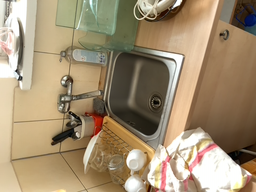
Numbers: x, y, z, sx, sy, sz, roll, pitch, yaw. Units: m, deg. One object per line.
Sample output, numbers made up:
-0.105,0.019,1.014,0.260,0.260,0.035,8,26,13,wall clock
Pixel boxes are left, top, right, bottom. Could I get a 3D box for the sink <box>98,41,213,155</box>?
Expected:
0.090,-0.030,1.060,0.510,0.190,0.400,26,110,48,sink
